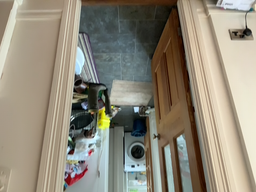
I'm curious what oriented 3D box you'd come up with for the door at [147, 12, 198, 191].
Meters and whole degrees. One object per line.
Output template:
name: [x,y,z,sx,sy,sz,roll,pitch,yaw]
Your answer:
door: [0.310,0.310,1.690,0.080,1.870,0.750,0,155,-4]
